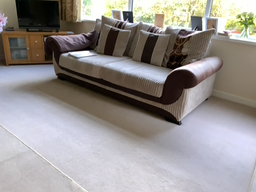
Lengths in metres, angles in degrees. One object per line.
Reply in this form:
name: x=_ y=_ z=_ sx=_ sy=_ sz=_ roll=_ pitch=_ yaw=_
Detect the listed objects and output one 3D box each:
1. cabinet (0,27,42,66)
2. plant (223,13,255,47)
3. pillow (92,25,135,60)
cabinet: x=-1.840 y=-0.870 z=3.670 sx=0.590 sy=0.540 sz=0.550 roll=-5 pitch=26 yaw=-22
plant: x=1.440 y=-0.790 z=2.520 sx=0.430 sy=0.330 sz=0.290 roll=24 pitch=30 yaw=37
pillow: x=-0.190 y=-0.720 z=2.860 sx=0.470 sy=0.390 sz=0.200 roll=8 pitch=40 yaw=26
